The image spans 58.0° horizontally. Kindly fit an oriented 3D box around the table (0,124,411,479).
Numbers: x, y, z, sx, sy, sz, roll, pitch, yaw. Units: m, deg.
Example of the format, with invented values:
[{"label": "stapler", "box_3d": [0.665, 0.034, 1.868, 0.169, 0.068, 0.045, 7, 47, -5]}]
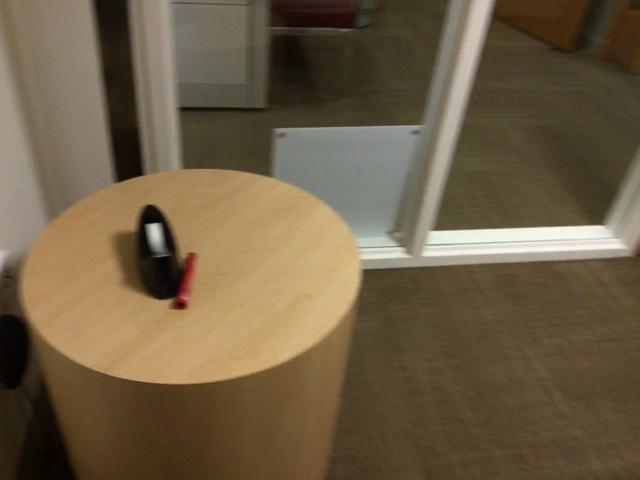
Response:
[{"label": "table", "box_3d": [-0.240, 0.220, 1.210, 0.610, 0.680, 0.620, -4, 39, -9]}]
